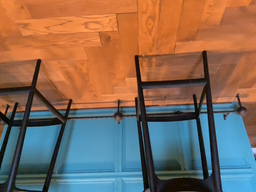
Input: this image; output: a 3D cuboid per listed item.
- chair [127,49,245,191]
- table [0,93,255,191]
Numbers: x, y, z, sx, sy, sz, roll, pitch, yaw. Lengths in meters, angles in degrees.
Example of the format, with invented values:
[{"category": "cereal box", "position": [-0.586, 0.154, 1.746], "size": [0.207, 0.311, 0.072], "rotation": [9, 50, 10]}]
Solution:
[{"category": "chair", "position": [0.250, 0.260, 1.210], "size": [0.450, 0.890, 0.510], "rotation": [-4, 149, 4]}, {"category": "table", "position": [-0.080, 0.660, 1.640], "size": [2.140, 1.110, 0.620], "rotation": [-3, 149, 3]}]
